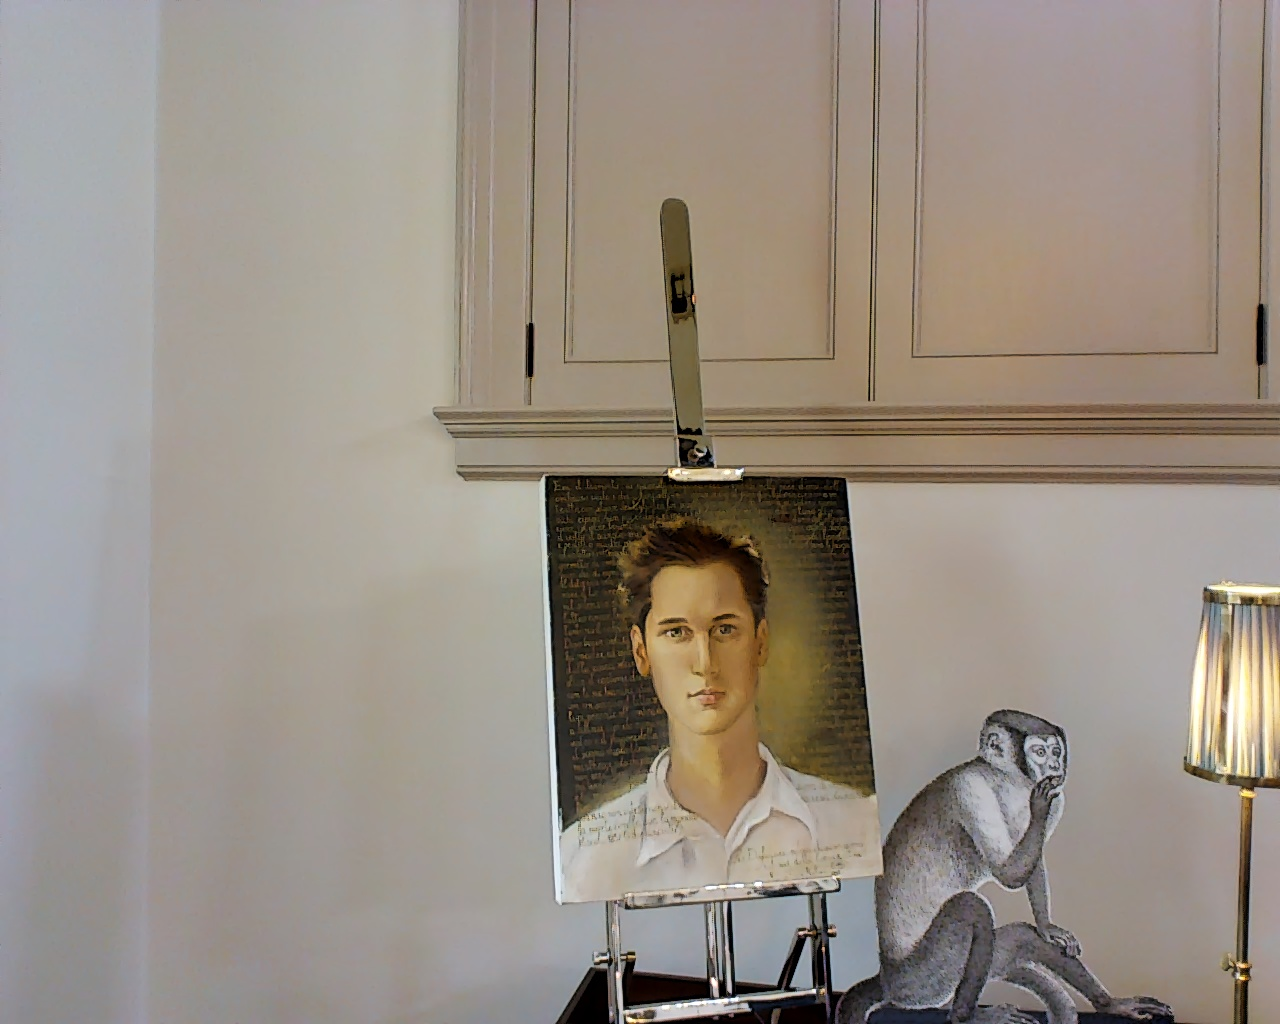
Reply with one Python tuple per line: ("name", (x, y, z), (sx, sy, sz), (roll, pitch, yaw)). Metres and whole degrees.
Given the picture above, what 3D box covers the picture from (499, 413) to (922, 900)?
("picture", (0.090, 0.190, 1.360), (0.410, 0.540, 0.060), (14, 3, -13))
